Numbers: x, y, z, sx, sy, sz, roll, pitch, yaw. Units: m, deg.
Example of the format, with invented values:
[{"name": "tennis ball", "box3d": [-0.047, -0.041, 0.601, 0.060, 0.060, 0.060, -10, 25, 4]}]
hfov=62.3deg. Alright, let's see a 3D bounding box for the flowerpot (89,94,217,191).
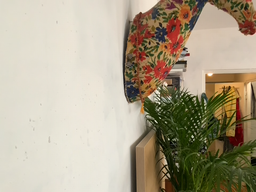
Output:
[{"name": "flowerpot", "box3d": [0.180, 0.610, 1.170, 0.440, 1.230, 0.880, -1, 1, 13]}]
